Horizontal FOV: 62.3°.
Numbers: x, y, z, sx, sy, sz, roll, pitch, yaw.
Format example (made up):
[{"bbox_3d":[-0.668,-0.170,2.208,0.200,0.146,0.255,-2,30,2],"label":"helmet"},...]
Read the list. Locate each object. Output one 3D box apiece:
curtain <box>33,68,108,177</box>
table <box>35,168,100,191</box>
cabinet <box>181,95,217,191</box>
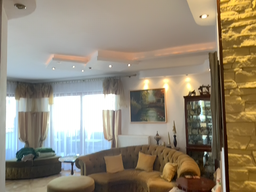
[{"bbox_3d":[-1.680,0.710,5.930,2.450,2.750,0.140,-2,-4,23],"label":"curtain"},{"bbox_3d":[-1.080,1.680,3.770,0.800,0.460,0.830,2,-5,-44],"label":"table"},{"bbox_3d":[1.530,0.950,4.570,0.650,1.920,0.350,-2,-4,22],"label":"cabinet"}]
